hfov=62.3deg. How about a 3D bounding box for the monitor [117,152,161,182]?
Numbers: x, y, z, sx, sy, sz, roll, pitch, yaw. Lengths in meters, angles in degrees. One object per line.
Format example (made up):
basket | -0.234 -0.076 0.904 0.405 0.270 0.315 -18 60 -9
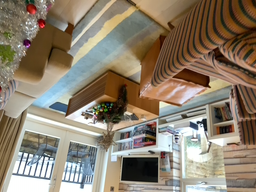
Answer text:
monitor | 0.180 1.220 3.680 0.790 0.470 0.050 -9 151 30
